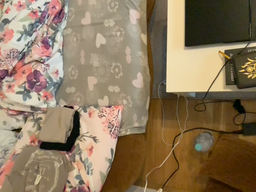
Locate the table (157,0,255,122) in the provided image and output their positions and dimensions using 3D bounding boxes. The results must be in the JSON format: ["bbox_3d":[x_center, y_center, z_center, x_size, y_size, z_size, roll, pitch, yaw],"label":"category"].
[{"bbox_3d":[0.500,-0.240,1.070,0.530,0.490,0.670,-8,84,25],"label":"table"}]

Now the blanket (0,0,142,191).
[{"bbox_3d":[-0.500,-0.380,1.240,1.180,0.170,1.800,1,87,26],"label":"blanket"}]
